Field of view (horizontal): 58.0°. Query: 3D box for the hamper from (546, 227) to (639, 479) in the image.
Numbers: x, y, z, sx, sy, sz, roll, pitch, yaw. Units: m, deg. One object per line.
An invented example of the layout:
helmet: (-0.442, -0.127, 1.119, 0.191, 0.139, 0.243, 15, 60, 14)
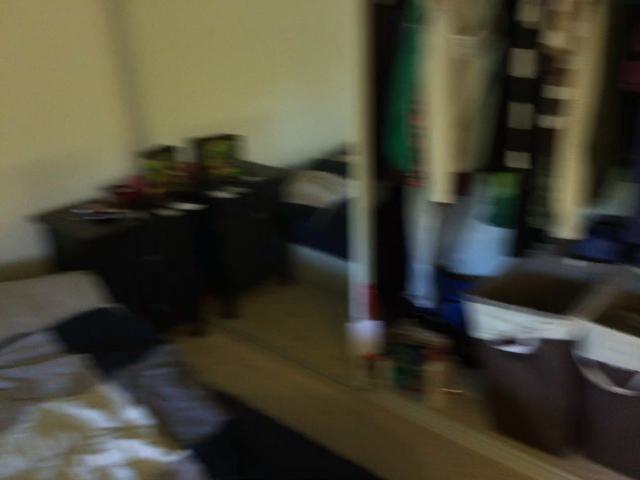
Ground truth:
hamper: (1.050, 0.380, 1.860, 0.370, 0.690, 0.540, 15, 23, 37)

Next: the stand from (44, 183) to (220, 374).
stand: (-0.790, 0.130, 2.500, 0.430, 0.620, 0.520, 15, 23, 37)

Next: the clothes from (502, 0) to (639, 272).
clothes: (0.880, -0.440, 1.930, 0.230, 0.950, 0.560, 14, 23, 37)

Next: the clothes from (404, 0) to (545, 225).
clothes: (0.560, -0.470, 2.110, 0.290, 0.720, 0.410, 15, 23, 37)

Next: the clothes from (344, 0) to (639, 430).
clothes: (0.800, -0.300, 2.080, 1.220, 1.450, 0.700, 15, 23, 37)

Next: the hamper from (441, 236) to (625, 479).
hamper: (0.750, 0.370, 2.040, 0.390, 0.600, 0.520, 15, 23, 37)
